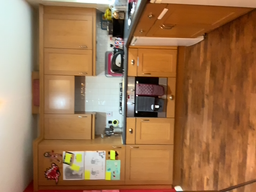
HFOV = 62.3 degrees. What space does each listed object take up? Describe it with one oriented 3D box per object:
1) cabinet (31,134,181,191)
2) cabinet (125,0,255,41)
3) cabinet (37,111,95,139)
[{"bbox_3d":[-0.320,1.020,3.390,0.580,2.170,0.680,-134,45,-83],"label":"cabinet"},{"bbox_3d":[0.480,-1.070,1.950,1.100,0.910,0.900,-134,45,-83],"label":"cabinet"},{"bbox_3d":[-0.980,0.460,3.420,0.310,0.850,0.390,-134,45,-83],"label":"cabinet"}]
